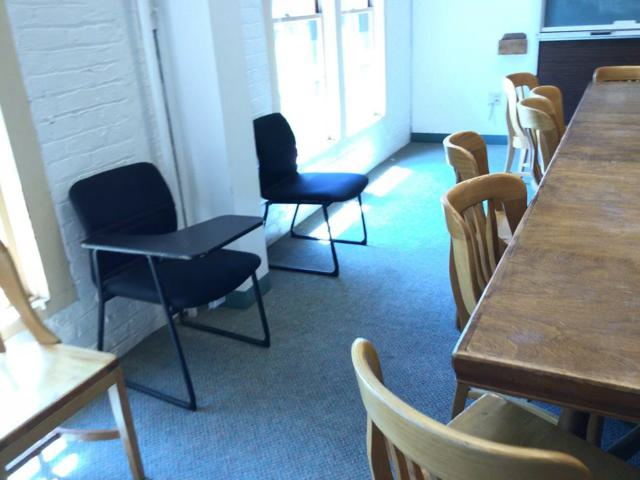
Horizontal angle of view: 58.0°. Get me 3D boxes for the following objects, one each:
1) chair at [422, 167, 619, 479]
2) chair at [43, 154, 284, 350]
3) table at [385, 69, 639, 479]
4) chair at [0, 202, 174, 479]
[{"bbox_3d":[0.640,0.240,1.830,0.470,0.810,0.560,5,23,25],"label":"chair"},{"bbox_3d":[-0.570,0.000,2.270,0.600,0.540,0.580,5,23,25],"label":"chair"},{"bbox_3d":[1.500,-0.090,2.420,1.300,0.810,3.610,5,23,25],"label":"table"},{"bbox_3d":[-0.930,0.410,1.680,0.580,0.870,0.620,5,23,25],"label":"chair"}]
